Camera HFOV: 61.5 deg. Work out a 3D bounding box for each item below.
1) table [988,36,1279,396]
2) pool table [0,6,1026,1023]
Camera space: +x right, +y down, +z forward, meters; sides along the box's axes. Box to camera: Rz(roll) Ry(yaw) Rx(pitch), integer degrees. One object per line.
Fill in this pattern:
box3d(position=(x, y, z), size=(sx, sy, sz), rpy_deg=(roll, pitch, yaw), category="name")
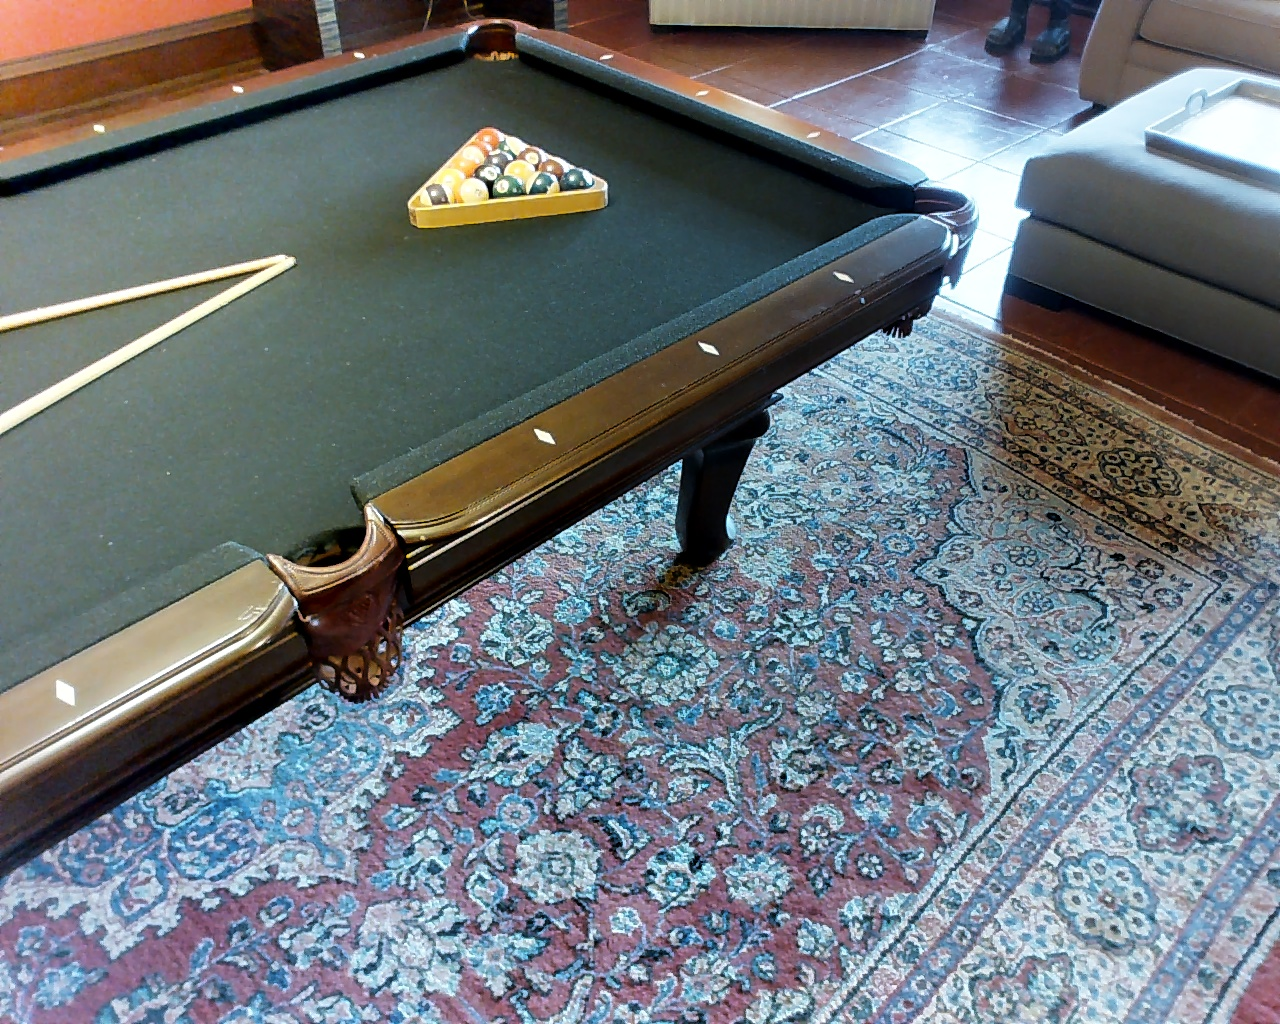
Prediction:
box3d(position=(1.800, -0.840, 2.990), size=(1.080, 0.440, 1.120), rpy_deg=(-32, 51, -31), category="table")
box3d(position=(-0.760, 0.010, 1.750), size=(2.530, 0.780, 1.400), rpy_deg=(-32, 51, -32), category="pool table")
